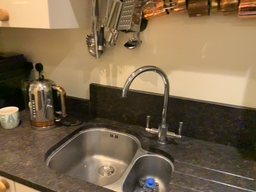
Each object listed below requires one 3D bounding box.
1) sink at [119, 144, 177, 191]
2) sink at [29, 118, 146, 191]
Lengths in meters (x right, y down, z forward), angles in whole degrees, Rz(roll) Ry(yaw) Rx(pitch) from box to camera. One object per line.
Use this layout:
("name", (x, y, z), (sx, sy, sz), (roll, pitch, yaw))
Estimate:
("sink", (0.090, 0.360, 0.910), (0.180, 0.180, 0.230), (10, 20, 18))
("sink", (-0.160, 0.330, 1.030), (0.370, 0.230, 0.430), (10, 20, 18))
